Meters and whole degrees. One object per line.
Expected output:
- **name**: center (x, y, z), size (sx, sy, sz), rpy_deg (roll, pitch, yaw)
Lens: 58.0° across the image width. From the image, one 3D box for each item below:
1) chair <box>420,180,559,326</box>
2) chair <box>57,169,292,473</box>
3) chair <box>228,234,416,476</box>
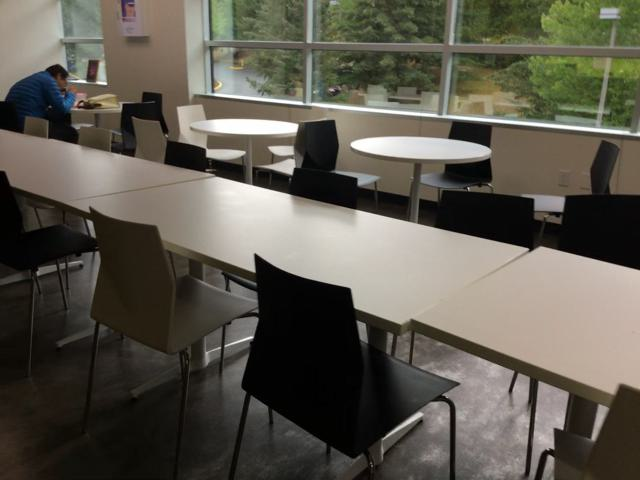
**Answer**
- **chair**: center (0.620, 0.030, 2.170), size (0.420, 0.420, 0.220), rpy_deg (17, 26, 41)
- **chair**: center (-0.480, 0.230, 2.030), size (0.500, 0.810, 0.540), rpy_deg (17, 26, 41)
- **chair**: center (0.000, 0.260, 1.450), size (0.410, 0.430, 0.220), rpy_deg (17, 26, 41)
